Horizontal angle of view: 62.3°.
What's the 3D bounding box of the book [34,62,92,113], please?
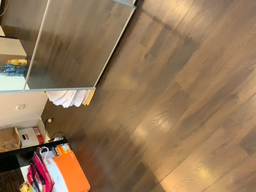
[{"bbox_3d":[-0.610,-0.090,1.980,0.430,0.340,0.210,52,126,28],"label":"book"}]
